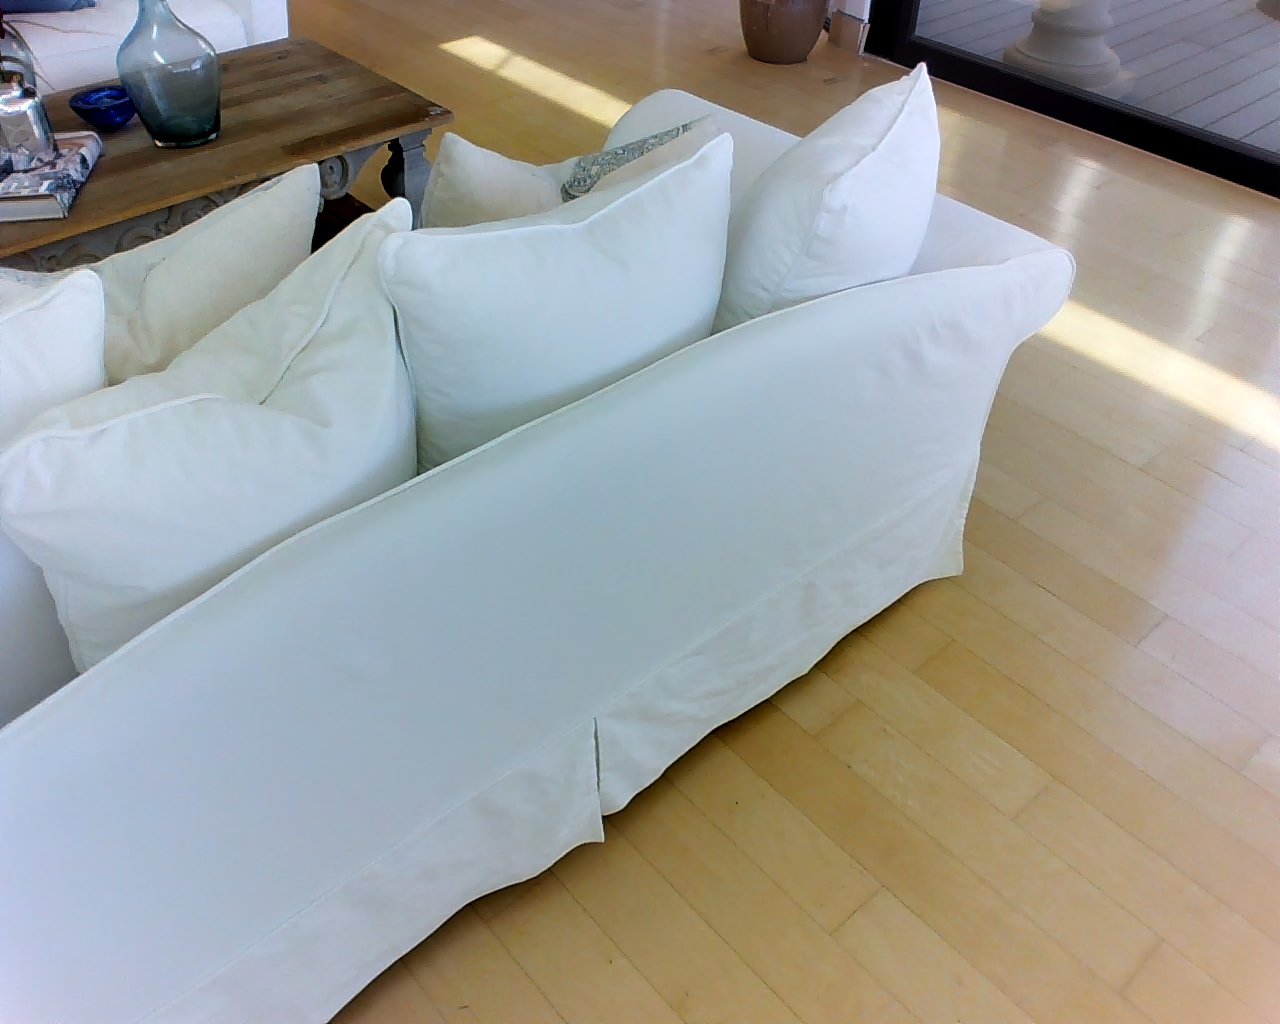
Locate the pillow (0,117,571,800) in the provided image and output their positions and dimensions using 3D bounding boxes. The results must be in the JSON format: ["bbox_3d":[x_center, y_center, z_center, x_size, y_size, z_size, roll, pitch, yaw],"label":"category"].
[{"bbox_3d":[-0.460,-0.050,1.240,0.550,0.520,0.370,-34,76,-31],"label":"pillow"}]

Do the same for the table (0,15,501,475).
[{"bbox_3d":[-1.420,-0.680,2.710,1.930,0.520,0.900,-29,50,-30],"label":"table"}]

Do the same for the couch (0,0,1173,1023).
[{"bbox_3d":[-0.410,-0.060,1.780,2.440,0.820,1.140,-29,50,-30],"label":"couch"}]

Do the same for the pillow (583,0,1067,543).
[{"bbox_3d":[0.290,-0.420,1.750,0.370,0.610,0.630,32,50,5],"label":"pillow"}]

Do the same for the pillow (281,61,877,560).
[{"bbox_3d":[-0.100,-0.270,1.490,0.640,0.480,0.300,-29,85,-30],"label":"pillow"}]
